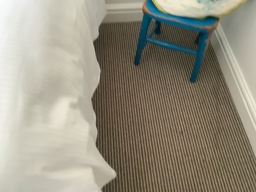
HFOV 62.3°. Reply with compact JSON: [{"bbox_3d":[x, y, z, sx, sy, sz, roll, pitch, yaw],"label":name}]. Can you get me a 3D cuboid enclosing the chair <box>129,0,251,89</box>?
[{"bbox_3d":[0.270,-0.450,0.920,0.370,0.670,0.470,18,60,9],"label":"chair"}]
